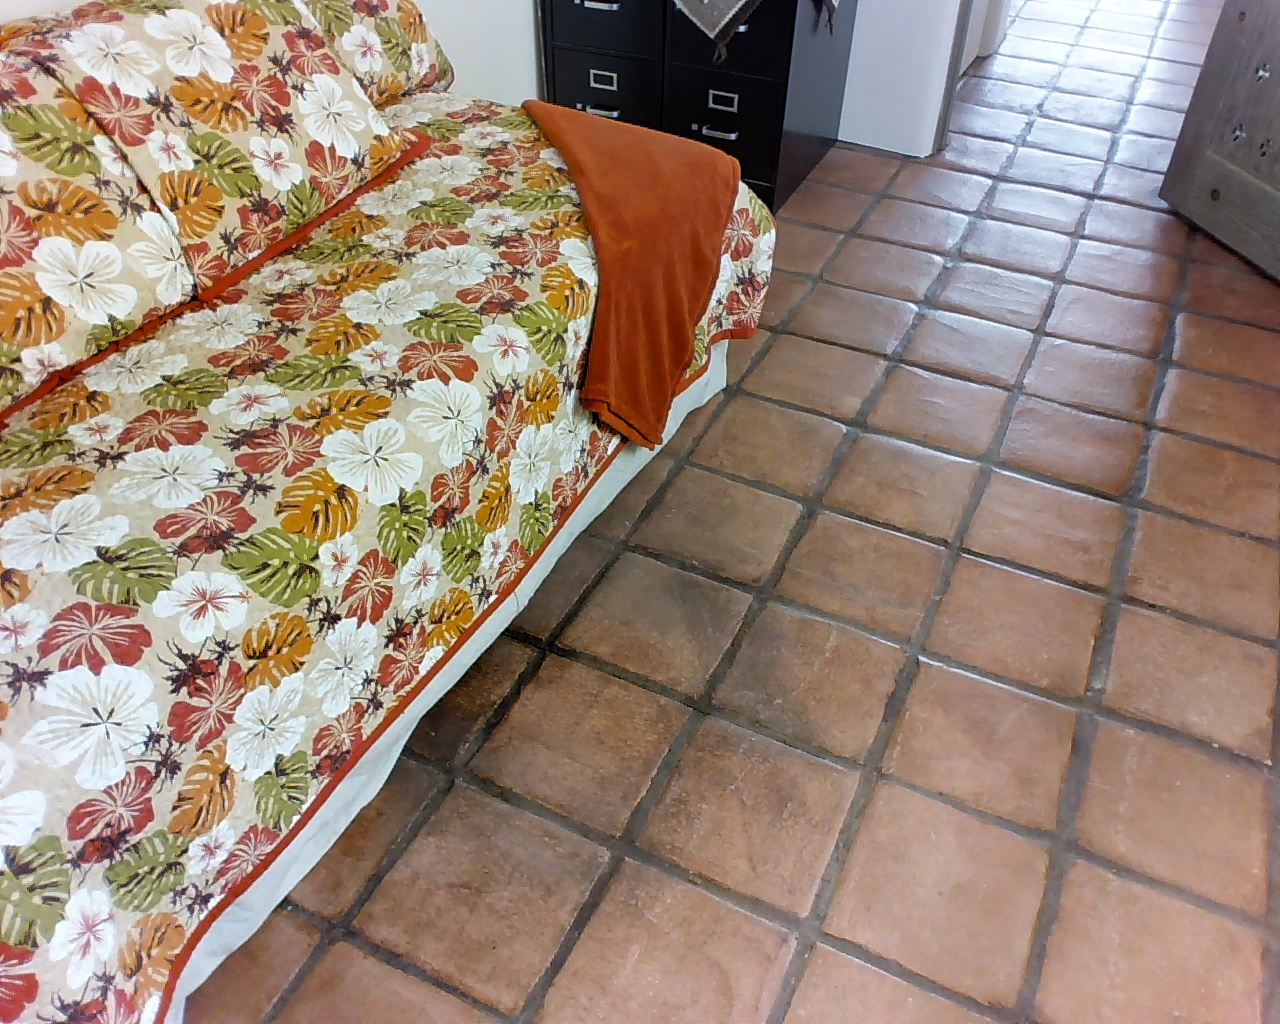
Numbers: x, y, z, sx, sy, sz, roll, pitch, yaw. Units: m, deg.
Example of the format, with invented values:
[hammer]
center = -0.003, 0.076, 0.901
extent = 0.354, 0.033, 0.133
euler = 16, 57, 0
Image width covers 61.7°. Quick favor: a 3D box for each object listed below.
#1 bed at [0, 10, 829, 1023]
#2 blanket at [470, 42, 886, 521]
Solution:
[bed]
center = -0.600, -0.150, 1.870
extent = 1.140, 0.690, 2.140
euler = 18, 44, 19
[blanket]
center = 0.010, -0.550, 2.270
extent = 0.480, 0.500, 1.060
euler = -12, 42, -15
